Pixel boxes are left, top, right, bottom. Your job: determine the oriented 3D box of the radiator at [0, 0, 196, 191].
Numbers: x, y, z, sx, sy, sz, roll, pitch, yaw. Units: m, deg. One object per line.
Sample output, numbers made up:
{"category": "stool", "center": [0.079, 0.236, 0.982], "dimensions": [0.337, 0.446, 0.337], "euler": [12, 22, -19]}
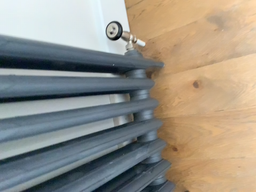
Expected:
{"category": "radiator", "center": [-0.060, 0.130, 0.460], "dimensions": [0.130, 0.670, 0.530], "euler": [-13, 85, 34]}
